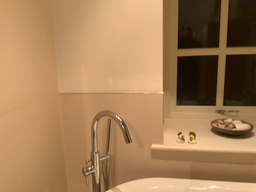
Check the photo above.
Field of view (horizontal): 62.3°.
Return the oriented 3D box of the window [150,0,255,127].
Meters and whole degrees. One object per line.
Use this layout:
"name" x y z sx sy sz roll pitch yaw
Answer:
"window" 0.660 -0.310 1.630 0.960 1.110 0.080 0 11 9
